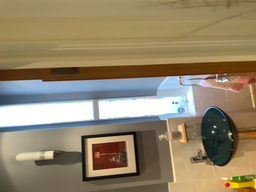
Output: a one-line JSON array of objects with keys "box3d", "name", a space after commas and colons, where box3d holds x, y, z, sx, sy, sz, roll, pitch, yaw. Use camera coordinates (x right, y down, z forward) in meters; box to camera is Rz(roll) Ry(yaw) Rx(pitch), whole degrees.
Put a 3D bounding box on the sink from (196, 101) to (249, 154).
[{"box3d": [0.740, 0.260, 1.710, 0.250, 0.230, 0.380, 111, 154, -73], "name": "sink"}]
